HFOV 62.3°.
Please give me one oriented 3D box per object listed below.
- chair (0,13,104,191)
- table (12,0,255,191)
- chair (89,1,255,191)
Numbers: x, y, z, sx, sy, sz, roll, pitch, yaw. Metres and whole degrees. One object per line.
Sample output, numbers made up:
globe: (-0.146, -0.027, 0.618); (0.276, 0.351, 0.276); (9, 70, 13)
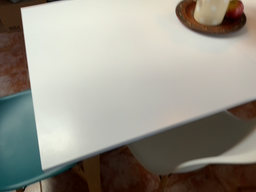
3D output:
chair: (-0.470, 0.170, 0.910); (0.550, 0.770, 0.460); (-18, 54, -15)
table: (0.310, -0.110, 1.160); (1.430, 0.760, 0.810); (-18, 54, -15)
chair: (0.160, 0.090, 0.980); (0.450, 0.780, 0.460); (-20, 55, -16)
